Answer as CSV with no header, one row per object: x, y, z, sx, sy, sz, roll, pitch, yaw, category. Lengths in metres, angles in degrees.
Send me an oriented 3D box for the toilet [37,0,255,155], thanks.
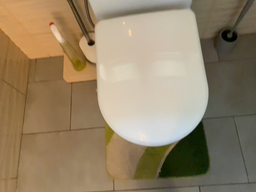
0.080,-0.140,0.770,0.380,0.790,0.610,-5,71,5,toilet
